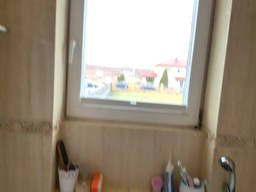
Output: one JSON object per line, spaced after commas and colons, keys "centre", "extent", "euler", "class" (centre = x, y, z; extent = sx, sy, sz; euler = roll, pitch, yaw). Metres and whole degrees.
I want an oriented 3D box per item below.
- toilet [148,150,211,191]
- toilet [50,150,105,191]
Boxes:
{"centre": [0.280, 0.460, 1.200], "extent": [0.300, 0.240, 0.130], "euler": [5, 7, 0], "class": "toilet"}
{"centre": [-0.280, 0.440, 1.200], "extent": [0.270, 0.200, 0.130], "euler": [5, 7, 3], "class": "toilet"}
